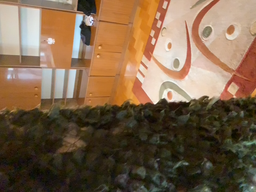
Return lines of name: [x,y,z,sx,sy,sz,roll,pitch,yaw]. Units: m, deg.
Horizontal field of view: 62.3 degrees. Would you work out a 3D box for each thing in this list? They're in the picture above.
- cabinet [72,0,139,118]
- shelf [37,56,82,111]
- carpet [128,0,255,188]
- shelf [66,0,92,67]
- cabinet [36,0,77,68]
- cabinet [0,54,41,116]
cabinet: [-0.370,-1.040,3.380,0.580,0.570,3.180,58,140,44]
shelf: [-1.260,-0.210,3.810,0.340,0.650,0.930,58,140,44]
carpet: [0.620,-0.450,2.130,1.690,0.020,2.230,59,141,43]
shelf: [-0.650,-1.470,3.030,0.330,0.200,2.250,58,140,44]
cabinet: [-1.120,-0.920,3.240,0.350,0.480,0.900,58,140,44]
cabinet: [-2.020,-0.160,3.390,0.390,1.090,0.930,58,140,44]
